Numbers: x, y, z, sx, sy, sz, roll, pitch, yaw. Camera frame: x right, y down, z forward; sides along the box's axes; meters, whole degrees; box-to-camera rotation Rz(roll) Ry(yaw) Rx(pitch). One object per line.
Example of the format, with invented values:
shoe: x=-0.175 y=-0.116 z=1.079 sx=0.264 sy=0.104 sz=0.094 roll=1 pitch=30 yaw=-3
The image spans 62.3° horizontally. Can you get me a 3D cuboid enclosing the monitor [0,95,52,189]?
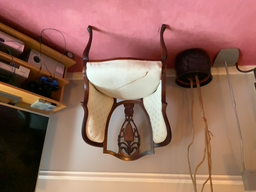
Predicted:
monitor: x=-1.070 y=0.260 z=1.400 sx=0.080 sy=0.640 sz=1.070 roll=-20 pitch=149 yaw=40

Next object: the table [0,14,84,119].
table: x=-1.040 y=-0.270 z=1.610 sx=0.460 sy=0.510 sz=1.340 roll=-18 pitch=150 yaw=37

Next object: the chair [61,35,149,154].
chair: x=-0.120 y=0.020 z=1.760 sx=0.560 sy=0.810 sz=0.590 roll=0 pitch=156 yaw=4
